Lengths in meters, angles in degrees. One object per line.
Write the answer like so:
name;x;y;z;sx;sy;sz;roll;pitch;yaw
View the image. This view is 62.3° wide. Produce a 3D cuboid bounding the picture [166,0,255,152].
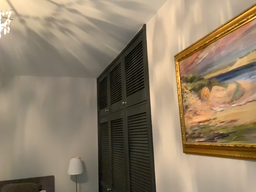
picture;0.460;-0.080;0.970;0.040;0.640;0.890;1;-11;-23
